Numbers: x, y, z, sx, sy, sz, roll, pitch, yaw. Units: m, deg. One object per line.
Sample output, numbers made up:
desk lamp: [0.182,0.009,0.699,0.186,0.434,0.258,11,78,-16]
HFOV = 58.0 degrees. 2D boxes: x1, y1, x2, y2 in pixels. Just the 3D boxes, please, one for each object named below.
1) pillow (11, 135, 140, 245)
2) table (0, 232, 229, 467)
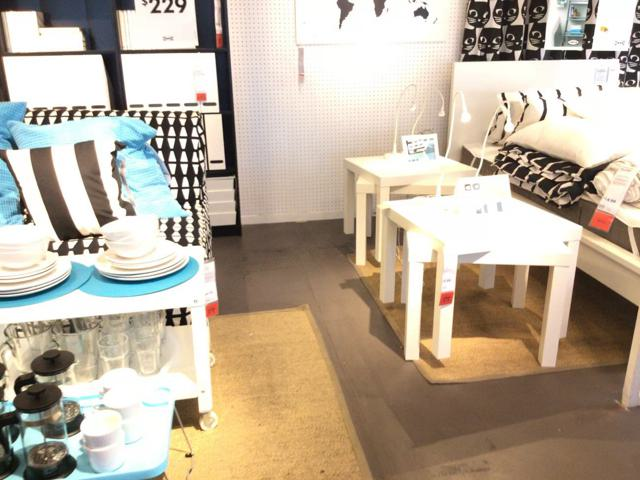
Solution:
pillow: [-0.950,-0.190,2.280,0.420,0.390,0.240,-2,-5,-9]
table: [-0.710,0.310,1.890,0.780,0.550,0.570,-2,12,-7]
